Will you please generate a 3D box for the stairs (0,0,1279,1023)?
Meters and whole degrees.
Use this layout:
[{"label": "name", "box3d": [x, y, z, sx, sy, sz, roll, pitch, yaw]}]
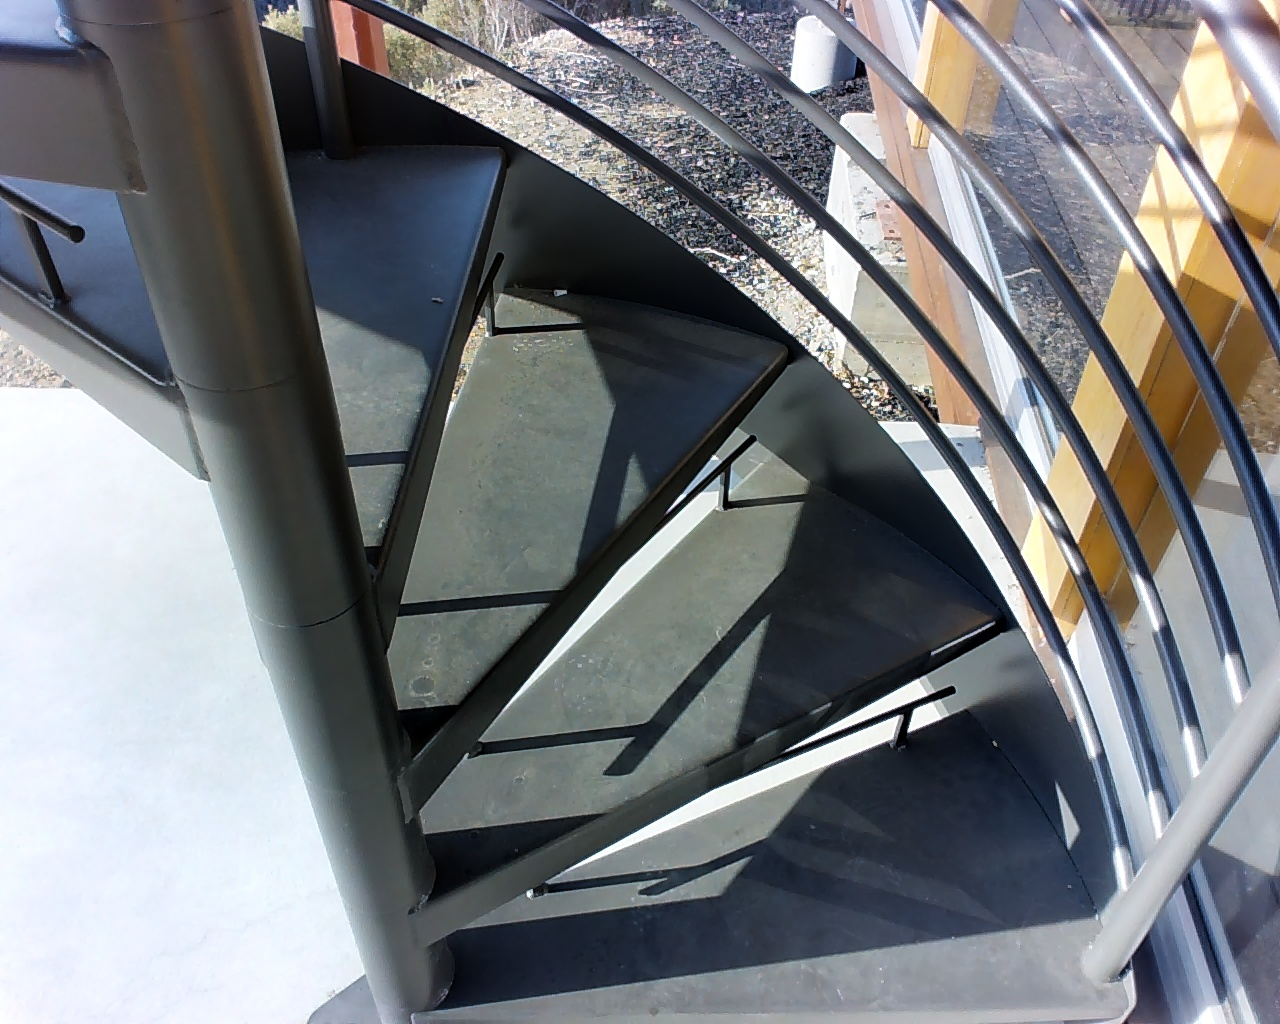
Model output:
[{"label": "stairs", "box3d": [0.120, -0.730, 0.230, 1.920, 4.390, 2.110, 19, 44, 19]}]
